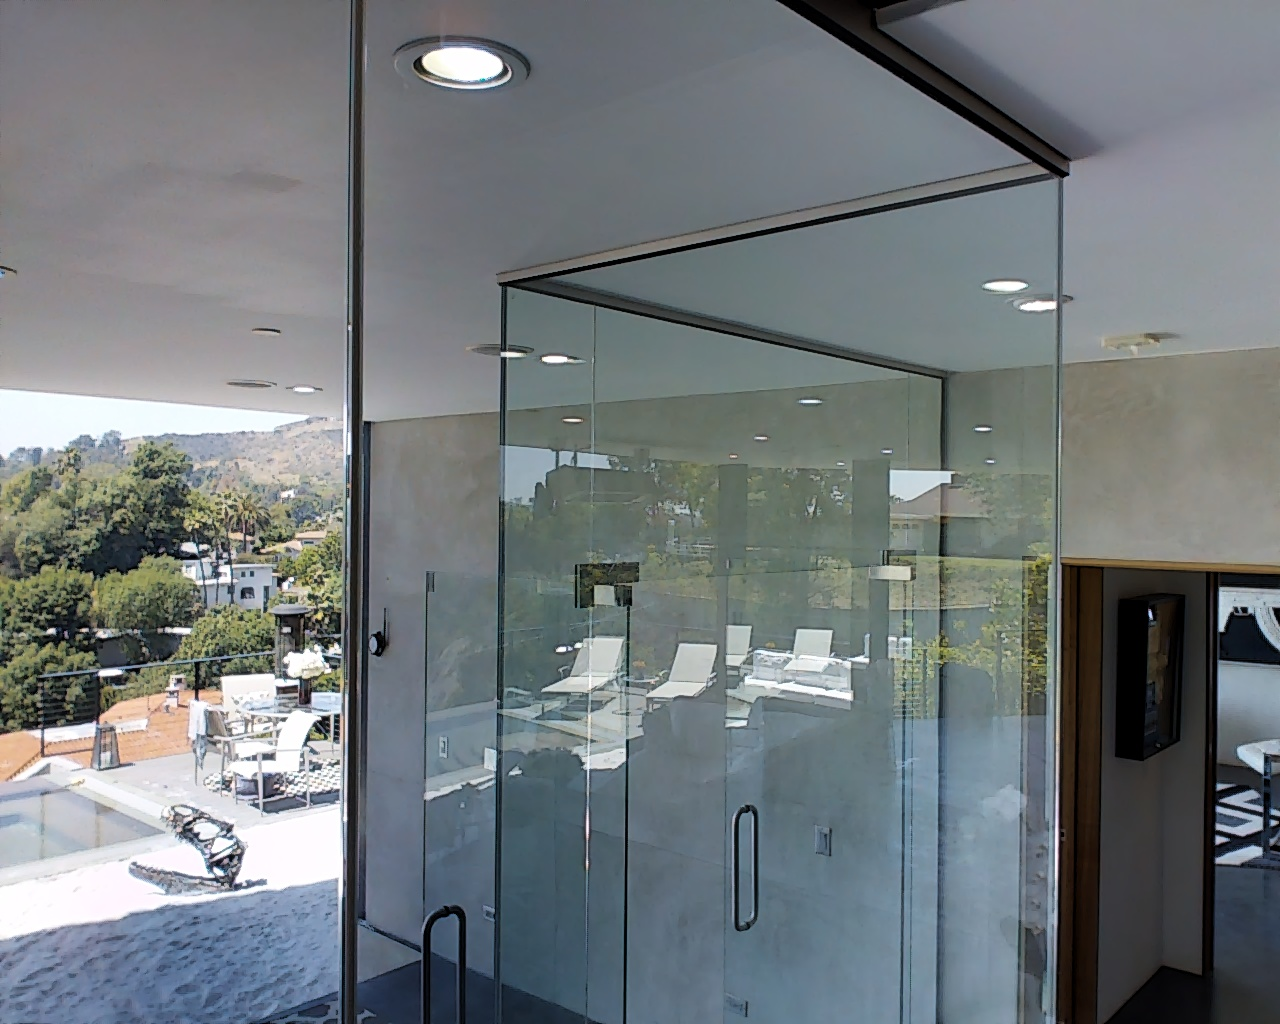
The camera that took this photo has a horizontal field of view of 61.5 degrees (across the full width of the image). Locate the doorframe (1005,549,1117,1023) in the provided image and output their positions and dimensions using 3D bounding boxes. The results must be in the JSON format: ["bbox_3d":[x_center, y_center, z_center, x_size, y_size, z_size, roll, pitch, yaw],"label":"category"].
[{"bbox_3d":[1.950,1.330,4.950,0.170,2.300,0.860,0,0,42],"label":"doorframe"}]
